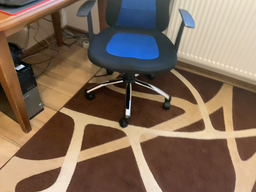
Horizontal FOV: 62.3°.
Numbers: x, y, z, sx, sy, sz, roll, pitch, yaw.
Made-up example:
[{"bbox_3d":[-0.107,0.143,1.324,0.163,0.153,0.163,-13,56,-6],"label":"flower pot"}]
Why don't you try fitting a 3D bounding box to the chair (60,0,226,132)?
[{"bbox_3d":[0.050,-0.450,1.220,0.630,1.130,0.710,5,43,-2],"label":"chair"}]
